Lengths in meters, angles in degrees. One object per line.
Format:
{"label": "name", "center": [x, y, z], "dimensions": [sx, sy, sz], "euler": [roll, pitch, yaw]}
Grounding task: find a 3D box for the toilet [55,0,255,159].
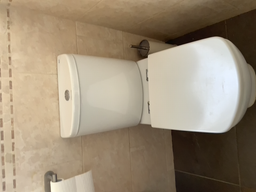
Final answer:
{"label": "toilet", "center": [0.180, -0.030, 0.980], "dimensions": [0.660, 0.780, 0.370], "euler": [-6, 86, 50]}
